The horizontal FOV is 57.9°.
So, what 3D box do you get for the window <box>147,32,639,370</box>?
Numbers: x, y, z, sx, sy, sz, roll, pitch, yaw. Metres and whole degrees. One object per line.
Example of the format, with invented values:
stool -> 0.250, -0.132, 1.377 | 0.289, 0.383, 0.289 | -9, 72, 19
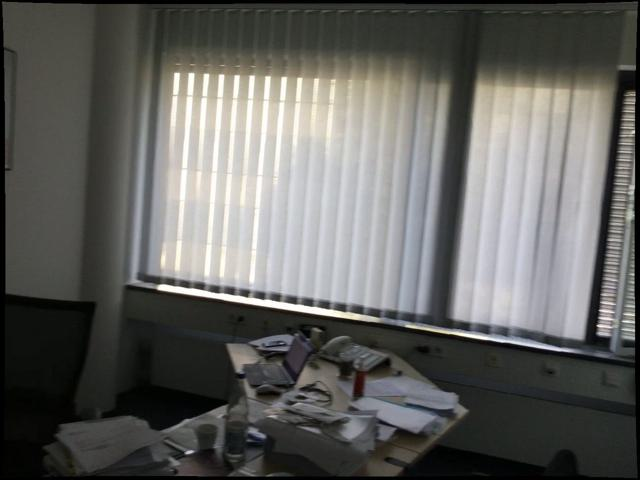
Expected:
window -> 0.270, -0.330, 3.630 | 2.937, 1.802, 0.210 | 6, 5, 18
